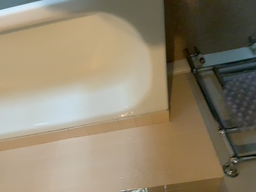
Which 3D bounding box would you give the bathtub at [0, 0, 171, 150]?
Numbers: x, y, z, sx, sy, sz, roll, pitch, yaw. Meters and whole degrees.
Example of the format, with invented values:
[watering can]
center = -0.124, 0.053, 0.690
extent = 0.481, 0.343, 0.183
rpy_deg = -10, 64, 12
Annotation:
[bathtub]
center = -0.650, -0.160, 1.200
extent = 1.660, 0.530, 0.810
rpy_deg = -11, 139, 3
